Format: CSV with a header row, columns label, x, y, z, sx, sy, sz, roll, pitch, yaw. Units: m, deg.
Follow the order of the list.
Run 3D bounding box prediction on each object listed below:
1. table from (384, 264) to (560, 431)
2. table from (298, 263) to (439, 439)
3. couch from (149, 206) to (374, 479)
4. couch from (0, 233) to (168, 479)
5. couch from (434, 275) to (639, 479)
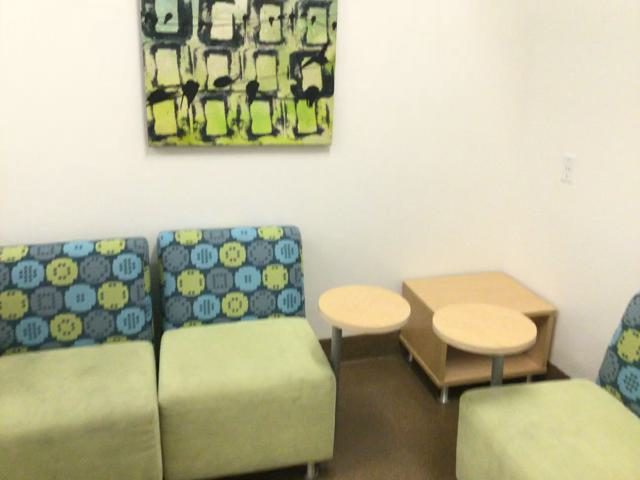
label,x,y,z,sx,sy,sz,roll,pitch,yaw
table,0.680,0.470,2.700,0.580,0.550,0.480,-4,17,-17
table,0.150,0.370,2.070,0.350,0.440,0.420,-4,17,-17
couch,-0.280,0.400,2.250,0.670,0.880,0.810,-4,17,-17
couch,-0.890,0.460,2.000,0.640,0.770,0.730,-4,17,-17
couch,0.870,0.600,1.720,0.790,0.780,0.700,-1,16,-10
